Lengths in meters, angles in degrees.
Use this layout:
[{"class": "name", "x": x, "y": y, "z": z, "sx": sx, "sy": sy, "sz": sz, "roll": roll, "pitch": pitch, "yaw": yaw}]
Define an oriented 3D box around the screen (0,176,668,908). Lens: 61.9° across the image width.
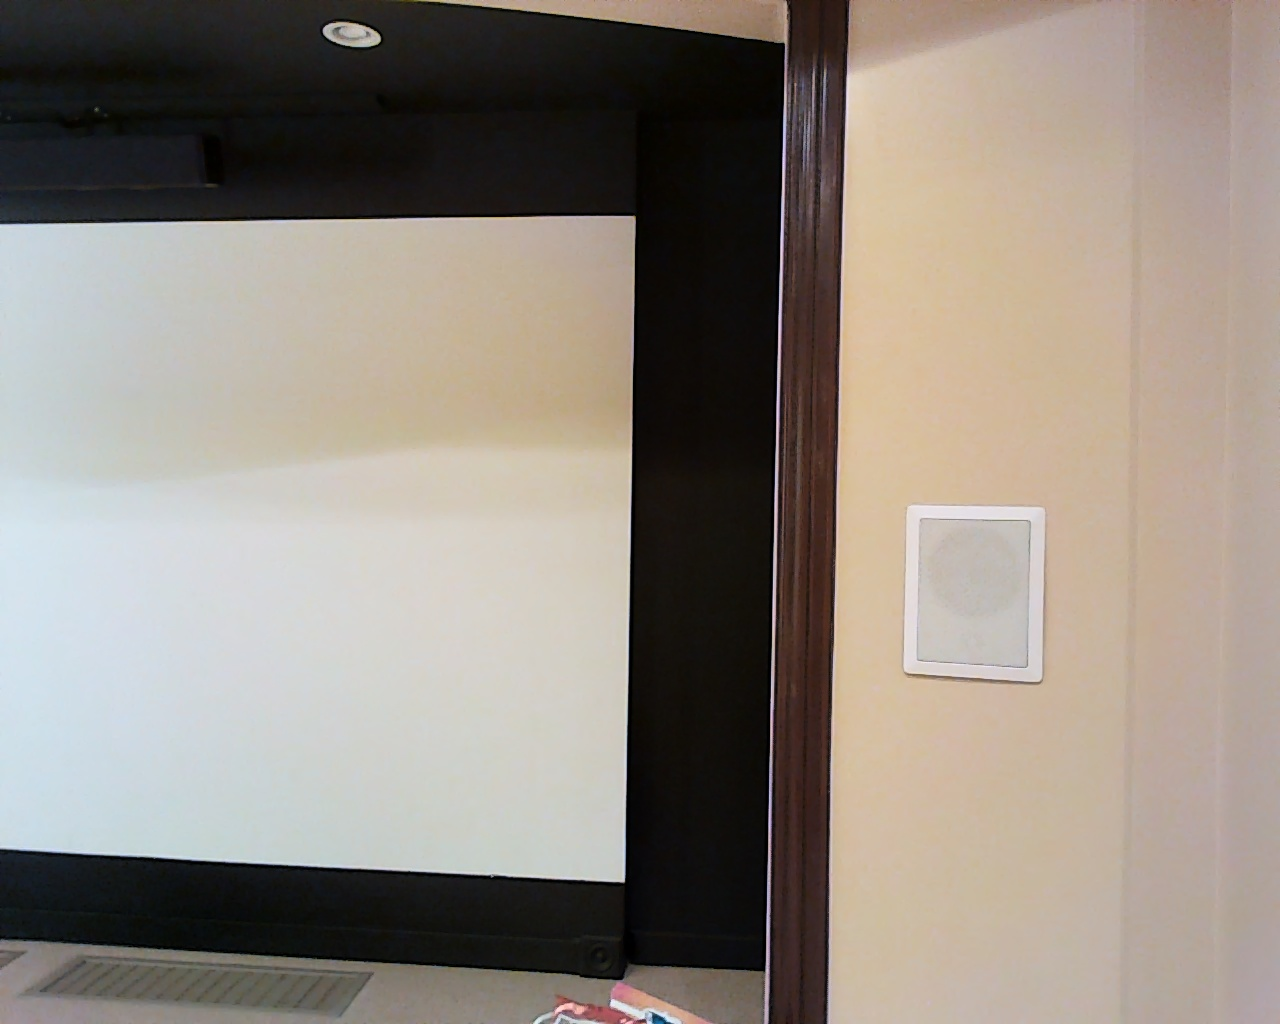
[{"class": "screen", "x": -1.580, "y": 0.060, "z": 2.950, "sx": 3.290, "sy": 1.870, "sz": 0.150, "roll": 1, "pitch": 0, "yaw": 5}]
